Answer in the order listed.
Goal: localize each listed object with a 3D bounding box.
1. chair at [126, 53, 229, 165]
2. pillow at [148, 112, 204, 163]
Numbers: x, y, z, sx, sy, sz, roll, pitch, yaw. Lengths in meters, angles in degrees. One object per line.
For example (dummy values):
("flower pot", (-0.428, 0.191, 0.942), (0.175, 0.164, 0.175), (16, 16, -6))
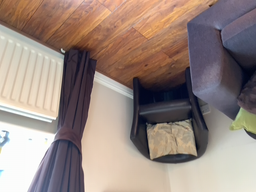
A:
("chair", (0.430, 0.180, 2.030), (0.660, 0.770, 0.600), (24, 142, -39))
("pillow", (0.450, 0.390, 2.020), (0.430, 0.370, 0.140), (14, 170, 7))
